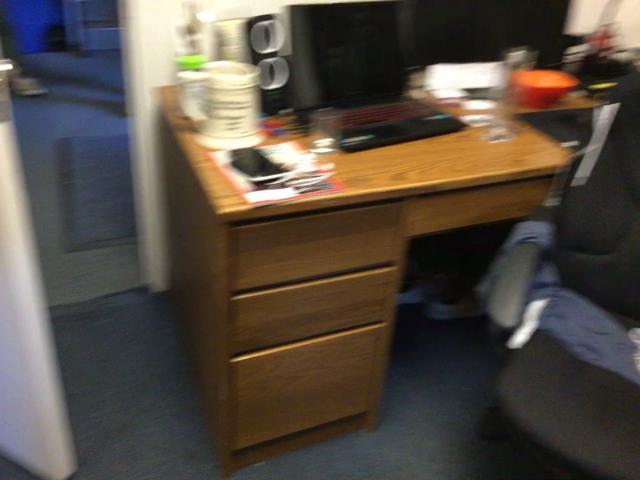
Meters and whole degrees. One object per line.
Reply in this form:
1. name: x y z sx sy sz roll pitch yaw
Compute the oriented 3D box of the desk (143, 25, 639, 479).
1. desk: 0.340 -0.100 1.770 1.520 0.920 0.810 -8 32 -22
